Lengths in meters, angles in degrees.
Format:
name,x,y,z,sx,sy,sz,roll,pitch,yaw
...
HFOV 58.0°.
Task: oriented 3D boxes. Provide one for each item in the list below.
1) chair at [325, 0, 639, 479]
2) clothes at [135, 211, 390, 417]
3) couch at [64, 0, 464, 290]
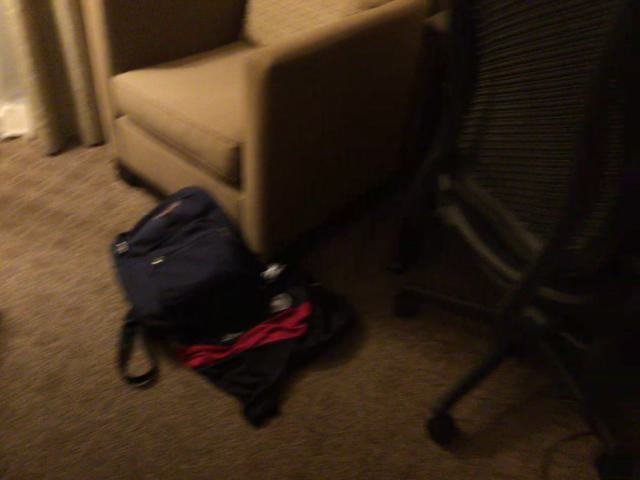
name,x,y,z,sx,sy,sz,roll,pitch,yaw
chair,0.590,-0.090,1.200,0.820,1.080,0.810,-13,38,-23
clothes,-0.150,0.160,1.550,0.530,0.180,0.390,-22,42,-32
couch,-0.160,-0.550,1.820,0.820,0.870,0.850,27,40,33
